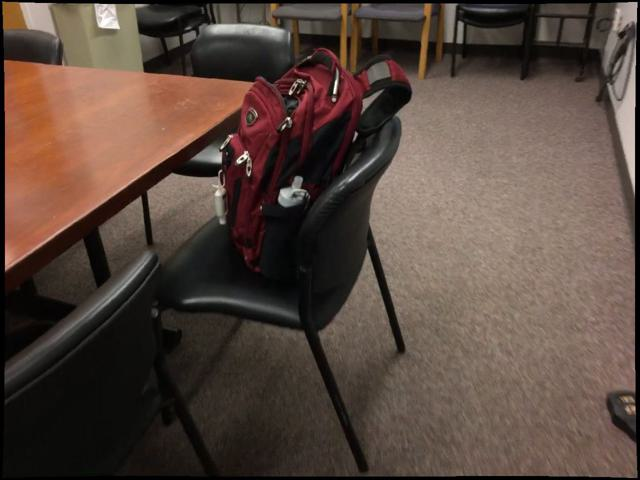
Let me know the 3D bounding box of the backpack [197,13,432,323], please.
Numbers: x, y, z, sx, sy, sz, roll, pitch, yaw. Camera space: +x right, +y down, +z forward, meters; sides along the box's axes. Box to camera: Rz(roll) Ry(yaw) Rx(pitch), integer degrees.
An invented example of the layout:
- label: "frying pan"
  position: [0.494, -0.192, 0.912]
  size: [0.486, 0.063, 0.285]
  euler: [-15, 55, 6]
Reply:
- label: "backpack"
  position: [-0.020, -0.170, 1.400]
  size: [0.270, 0.601, 0.380]
  euler: [-25, 18, -21]

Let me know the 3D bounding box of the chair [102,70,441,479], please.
- label: "chair"
  position: [-0.080, 0.090, 1.510]
  size: [0.609, 0.872, 0.440]
  euler: [13, 37, 18]

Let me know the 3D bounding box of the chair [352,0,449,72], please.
- label: "chair"
  position: [0.638, -1.895, 4.400]
  size: [0.579, 0.881, 0.791]
  euler: [11, 42, 17]
